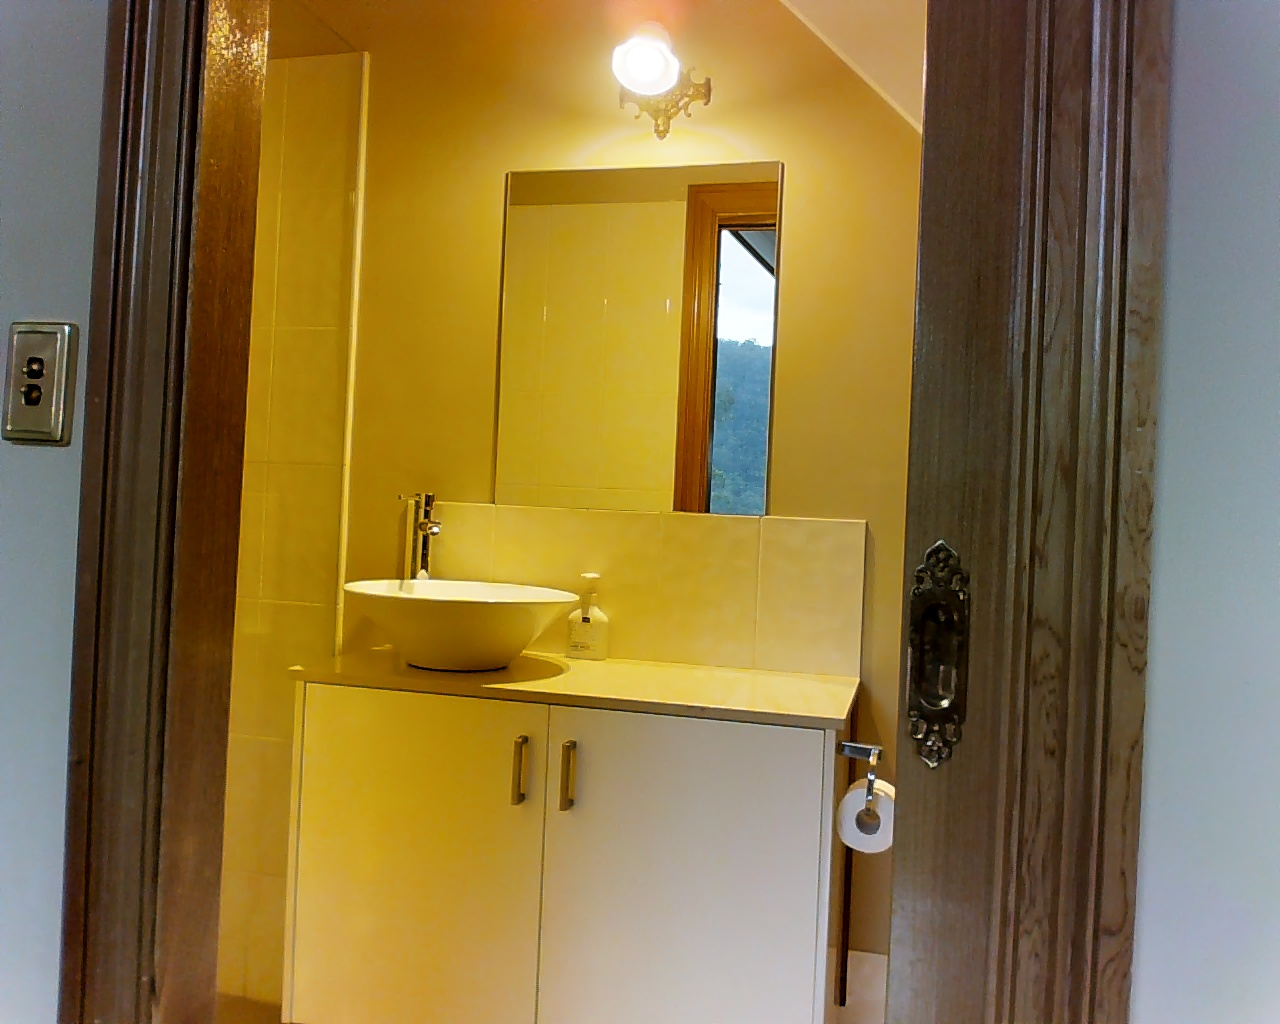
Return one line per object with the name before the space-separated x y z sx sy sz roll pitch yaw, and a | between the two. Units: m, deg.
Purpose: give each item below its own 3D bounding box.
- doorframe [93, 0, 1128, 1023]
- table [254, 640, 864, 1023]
doorframe | -0.050 0.120 0.950 0.820 2.111 0.200 2 0 15
table | -0.120 0.650 1.970 0.990 0.720 0.470 2 0 14
